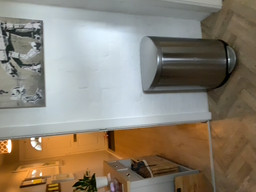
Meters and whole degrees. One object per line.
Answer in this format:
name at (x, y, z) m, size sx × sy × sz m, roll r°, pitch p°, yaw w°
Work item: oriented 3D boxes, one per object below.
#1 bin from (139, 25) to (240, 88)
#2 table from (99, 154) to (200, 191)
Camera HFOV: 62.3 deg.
bin at (0.490, -0.290, 1.740) m, size 0.350 × 0.700 × 0.390 m, roll 163°, pitch 104°, yaw -69°
table at (0.150, 0.970, 2.540) m, size 1.220 × 0.740 × 0.310 m, roll 157°, pitch 110°, yaw -69°
